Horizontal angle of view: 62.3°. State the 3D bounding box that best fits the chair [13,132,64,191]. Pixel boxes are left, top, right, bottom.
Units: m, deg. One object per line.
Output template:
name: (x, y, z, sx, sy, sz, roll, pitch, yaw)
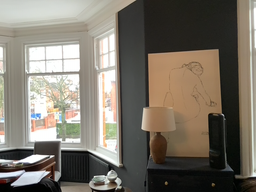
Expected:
chair: (-1.240, 1.040, 3.020, 0.450, 0.940, 0.570, -1, 1, 2)
